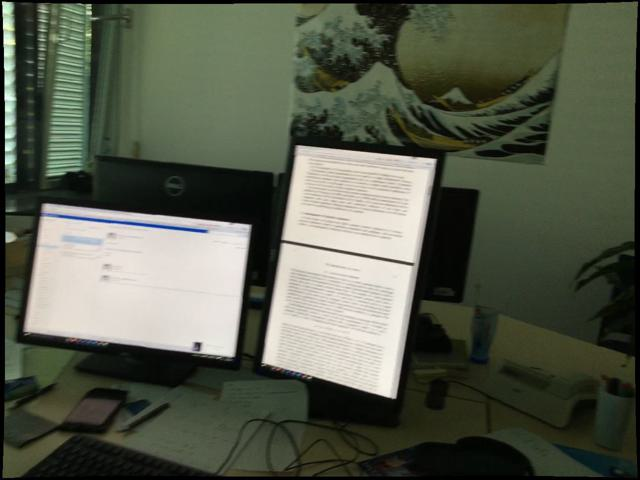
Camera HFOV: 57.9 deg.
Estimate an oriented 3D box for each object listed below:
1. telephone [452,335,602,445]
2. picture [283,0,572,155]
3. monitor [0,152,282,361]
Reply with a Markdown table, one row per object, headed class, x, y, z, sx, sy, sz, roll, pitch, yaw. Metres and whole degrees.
| class | x | y | z | sx | sy | sz | roll | pitch | yaw |
| --- | --- | --- | --- | --- | --- | --- | --- | --- | --- |
| telephone | 0.490 | 0.340 | 1.370 | 0.260 | 0.100 | 0.230 | -9 | 19 | -42 |
| picture | 0.490 | -0.971 | 2.940 | 1.409 | 0.981 | 0.090 | 6 | 14 | 18 |
| monitor | -0.430 | 0.020 | 1.400 | 0.619 | 0.400 | 0.250 | 5 | 14 | 7 |
